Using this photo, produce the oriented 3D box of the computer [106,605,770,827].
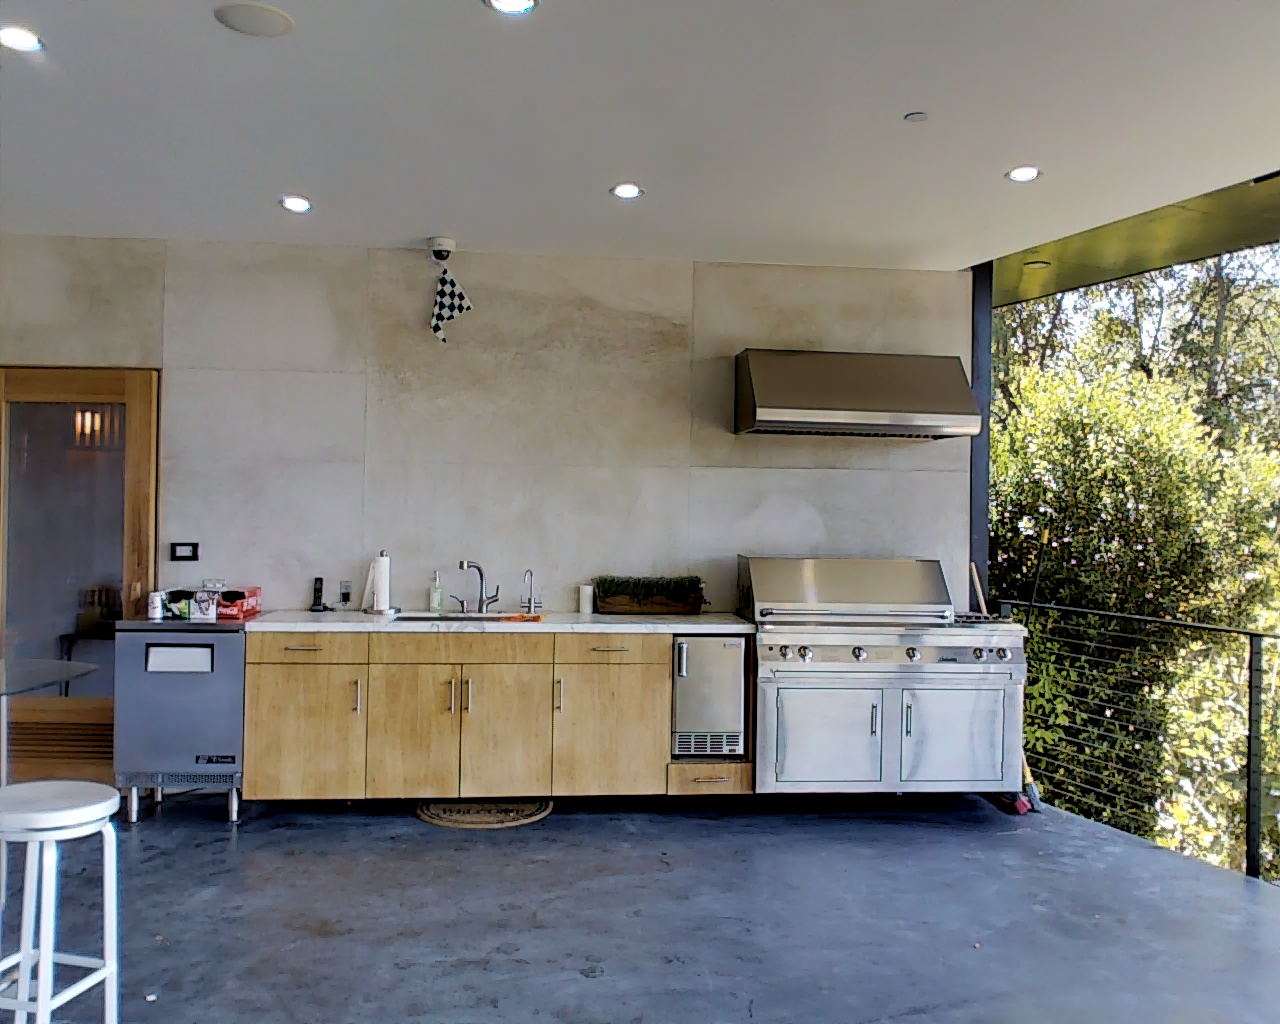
[{"bbox_3d":[-0.990,1.050,5.700,3.230,1.010,0.720,1,0,-5],"label":"computer"}]
